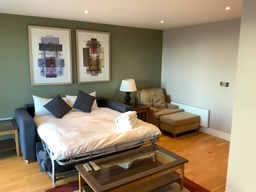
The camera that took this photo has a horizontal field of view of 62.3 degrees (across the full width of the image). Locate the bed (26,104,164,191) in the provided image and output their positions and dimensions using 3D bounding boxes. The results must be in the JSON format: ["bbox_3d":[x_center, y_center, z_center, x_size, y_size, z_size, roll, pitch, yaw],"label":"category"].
[{"bbox_3d":[-0.710,0.700,3.630,1.560,0.630,2.160,-6,11,-32],"label":"bed"}]
